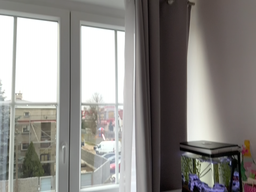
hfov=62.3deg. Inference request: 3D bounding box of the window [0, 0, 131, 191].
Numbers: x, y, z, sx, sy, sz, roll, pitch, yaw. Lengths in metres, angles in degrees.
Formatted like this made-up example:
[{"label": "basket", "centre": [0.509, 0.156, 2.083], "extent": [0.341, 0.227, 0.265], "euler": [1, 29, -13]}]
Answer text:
[{"label": "window", "centre": [-0.540, 0.320, 1.600], "extent": [1.110, 2.150, 0.210], "euler": [1, -5, -21]}]
